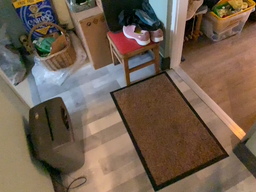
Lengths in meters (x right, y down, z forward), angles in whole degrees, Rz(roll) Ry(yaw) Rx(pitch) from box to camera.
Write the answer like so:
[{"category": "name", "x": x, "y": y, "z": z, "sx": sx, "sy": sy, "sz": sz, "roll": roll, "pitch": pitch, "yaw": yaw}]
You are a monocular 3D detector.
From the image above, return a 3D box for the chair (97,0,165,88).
[{"category": "chair", "x": 0.030, "y": -0.430, "z": 1.550, "sx": 0.320, "sy": 0.650, "sz": 0.310, "roll": -24, "pitch": 55, "yaw": -12}]
